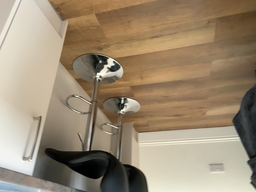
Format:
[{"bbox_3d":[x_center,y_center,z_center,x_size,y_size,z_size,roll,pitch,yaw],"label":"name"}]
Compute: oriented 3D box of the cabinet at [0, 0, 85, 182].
[{"bbox_3d":[-0.470,-0.090,0.960,0.260,0.820,0.500,-7,149,13],"label":"cabinet"}]
